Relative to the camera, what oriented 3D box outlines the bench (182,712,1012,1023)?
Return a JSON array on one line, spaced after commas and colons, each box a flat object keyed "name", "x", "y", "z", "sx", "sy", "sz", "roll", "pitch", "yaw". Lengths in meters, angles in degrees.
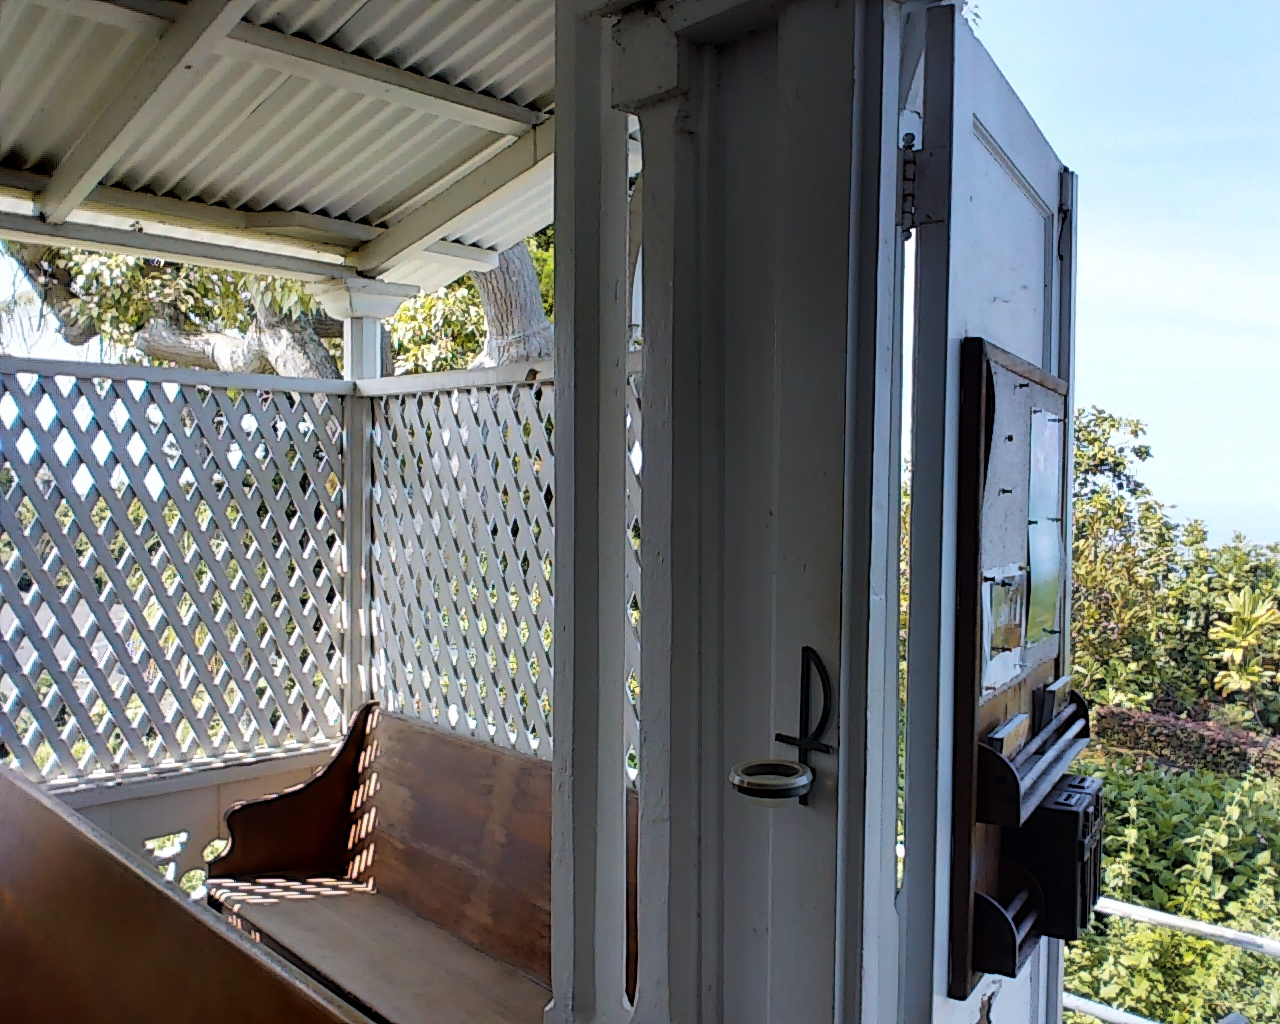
[{"name": "bench", "x": -0.330, "y": 1.040, "z": 2.330, "sx": 0.510, "sy": 0.820, "sz": 2.140, "roll": 0, "pitch": 1, "yaw": -43}]
